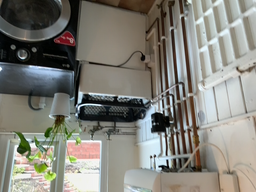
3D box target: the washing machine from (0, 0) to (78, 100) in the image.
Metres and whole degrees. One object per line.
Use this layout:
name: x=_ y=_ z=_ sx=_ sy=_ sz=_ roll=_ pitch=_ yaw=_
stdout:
washing machine: x=-0.730 y=-0.510 z=1.640 sx=0.590 sy=0.850 sz=0.810 roll=5 pitch=161 yaw=-18

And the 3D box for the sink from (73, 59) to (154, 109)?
sink: x=-0.150 y=-0.080 z=1.900 sx=0.620 sy=0.260 sz=0.430 roll=5 pitch=161 yaw=-16

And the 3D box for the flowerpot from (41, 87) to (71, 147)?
flowerpot: x=-0.580 y=0.180 z=1.730 sx=0.180 sy=0.430 sz=0.280 roll=5 pitch=161 yaw=-16
